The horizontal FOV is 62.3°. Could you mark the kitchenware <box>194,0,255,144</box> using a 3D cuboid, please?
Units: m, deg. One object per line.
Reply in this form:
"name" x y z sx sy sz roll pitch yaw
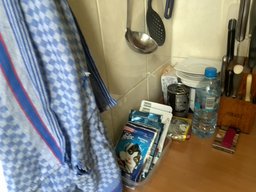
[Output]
"kitchenware" 0.400 -0.070 0.580 0.350 0.350 0.220 12 32 28
